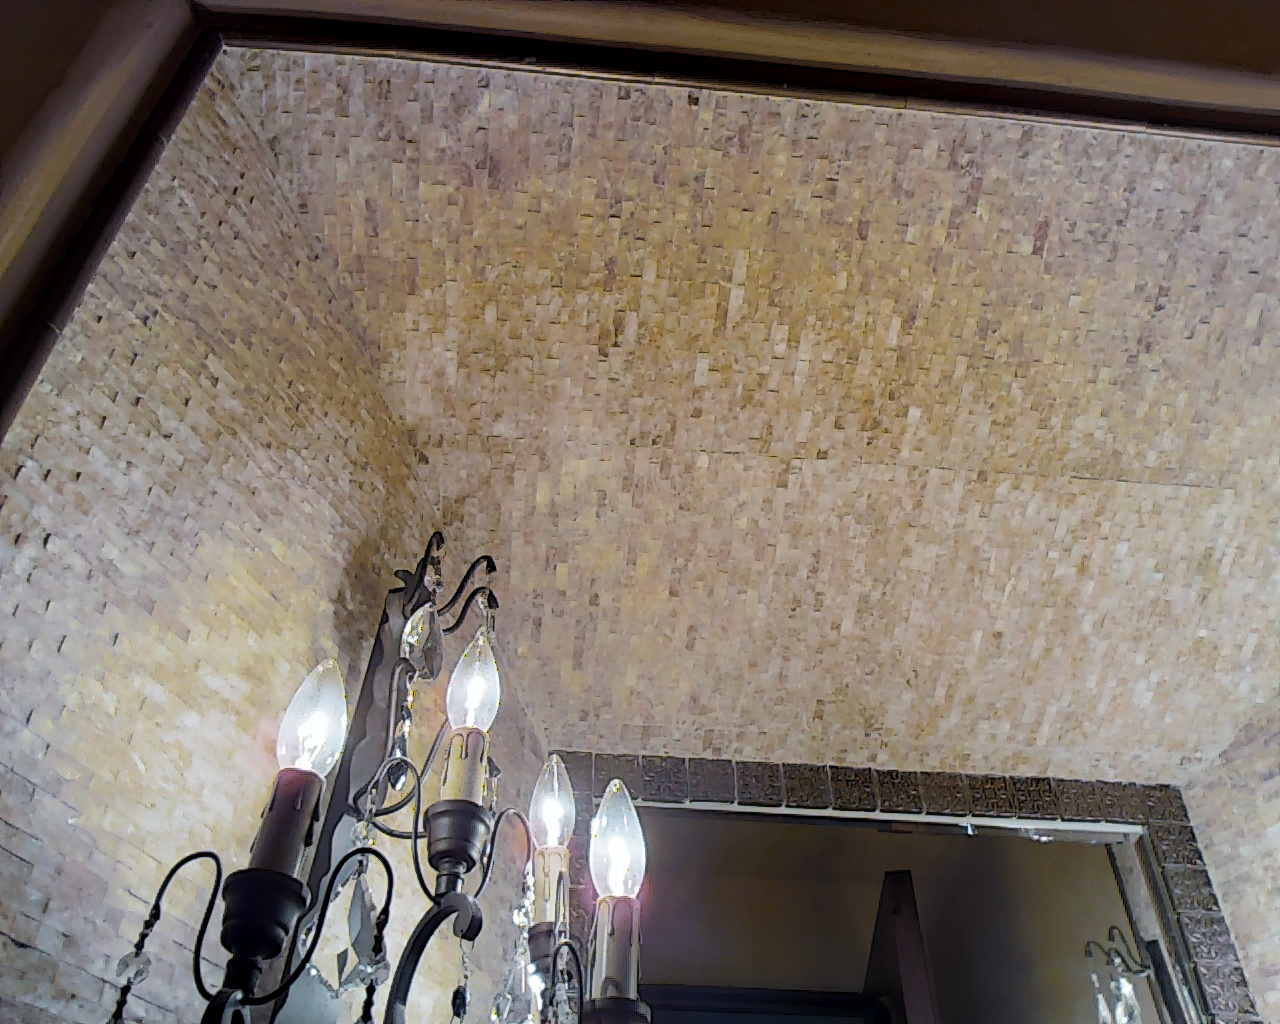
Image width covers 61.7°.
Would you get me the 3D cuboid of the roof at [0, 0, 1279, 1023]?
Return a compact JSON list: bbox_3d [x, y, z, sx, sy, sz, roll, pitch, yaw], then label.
[{"bbox_3d":[0.720,0.100,1.570,2.800,0.360,2.890,-28,-49,28],"label":"roof"}]
